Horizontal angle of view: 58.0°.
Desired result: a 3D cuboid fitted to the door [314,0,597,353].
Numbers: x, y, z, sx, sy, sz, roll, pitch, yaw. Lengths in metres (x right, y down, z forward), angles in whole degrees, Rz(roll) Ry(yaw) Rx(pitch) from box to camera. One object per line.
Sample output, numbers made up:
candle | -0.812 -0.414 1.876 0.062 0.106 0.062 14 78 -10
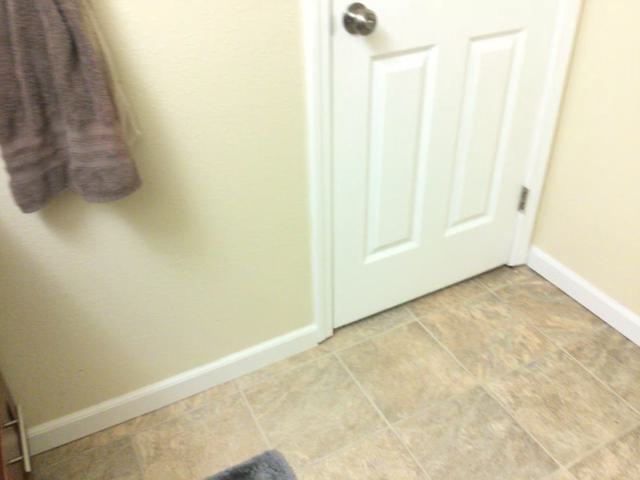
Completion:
door | 0.350 -0.670 1.320 0.780 2.120 0.090 -19 37 -20
